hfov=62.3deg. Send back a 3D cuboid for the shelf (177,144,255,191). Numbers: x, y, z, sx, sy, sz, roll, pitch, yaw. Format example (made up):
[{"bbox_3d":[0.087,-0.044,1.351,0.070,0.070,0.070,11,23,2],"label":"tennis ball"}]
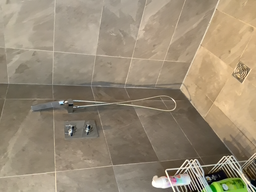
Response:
[{"bbox_3d":[0.590,0.490,1.120,0.390,0.490,0.200,-117,34,-49],"label":"shelf"}]
